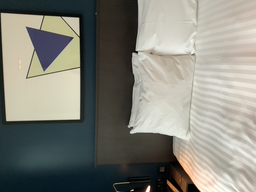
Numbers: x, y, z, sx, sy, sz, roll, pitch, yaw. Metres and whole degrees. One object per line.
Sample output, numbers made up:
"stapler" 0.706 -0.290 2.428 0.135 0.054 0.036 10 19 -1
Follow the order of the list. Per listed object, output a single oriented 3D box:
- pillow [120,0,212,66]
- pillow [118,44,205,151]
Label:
"pillow" 0.250 -0.610 1.560 0.300 0.470 0.660 -147 38 -76
"pillow" 0.240 0.000 1.620 0.310 0.430 0.650 -154 47 -77
